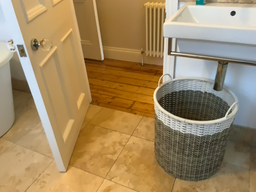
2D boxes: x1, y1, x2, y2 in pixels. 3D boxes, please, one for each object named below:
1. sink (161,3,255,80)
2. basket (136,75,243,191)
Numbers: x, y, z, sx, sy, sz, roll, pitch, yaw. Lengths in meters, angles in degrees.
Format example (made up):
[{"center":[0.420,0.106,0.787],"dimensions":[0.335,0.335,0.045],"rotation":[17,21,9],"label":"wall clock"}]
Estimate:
[{"center":[0.460,-0.280,0.980],"dimensions":[0.500,0.190,0.430],"rotation":[11,37,22],"label":"sink"},{"center":[0.380,0.200,1.330],"dimensions":[0.510,0.450,0.430],"rotation":[12,37,23],"label":"basket"}]
